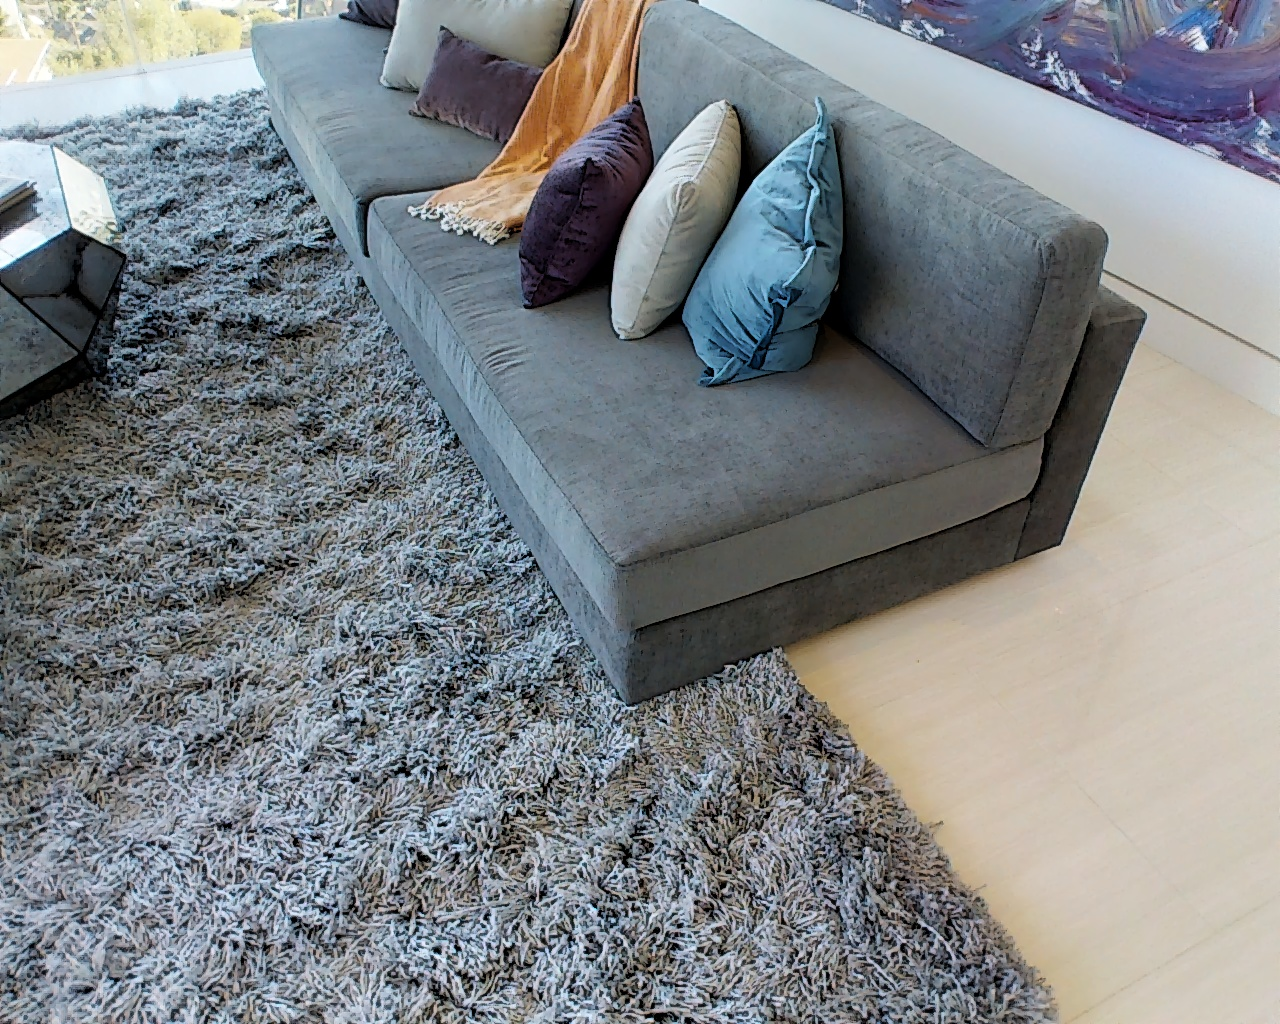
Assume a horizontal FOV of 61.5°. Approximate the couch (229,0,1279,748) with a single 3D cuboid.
[{"bbox_3d":[-0.160,-0.980,2.860,1.250,0.840,3.040,-18,45,-20],"label":"couch"}]
